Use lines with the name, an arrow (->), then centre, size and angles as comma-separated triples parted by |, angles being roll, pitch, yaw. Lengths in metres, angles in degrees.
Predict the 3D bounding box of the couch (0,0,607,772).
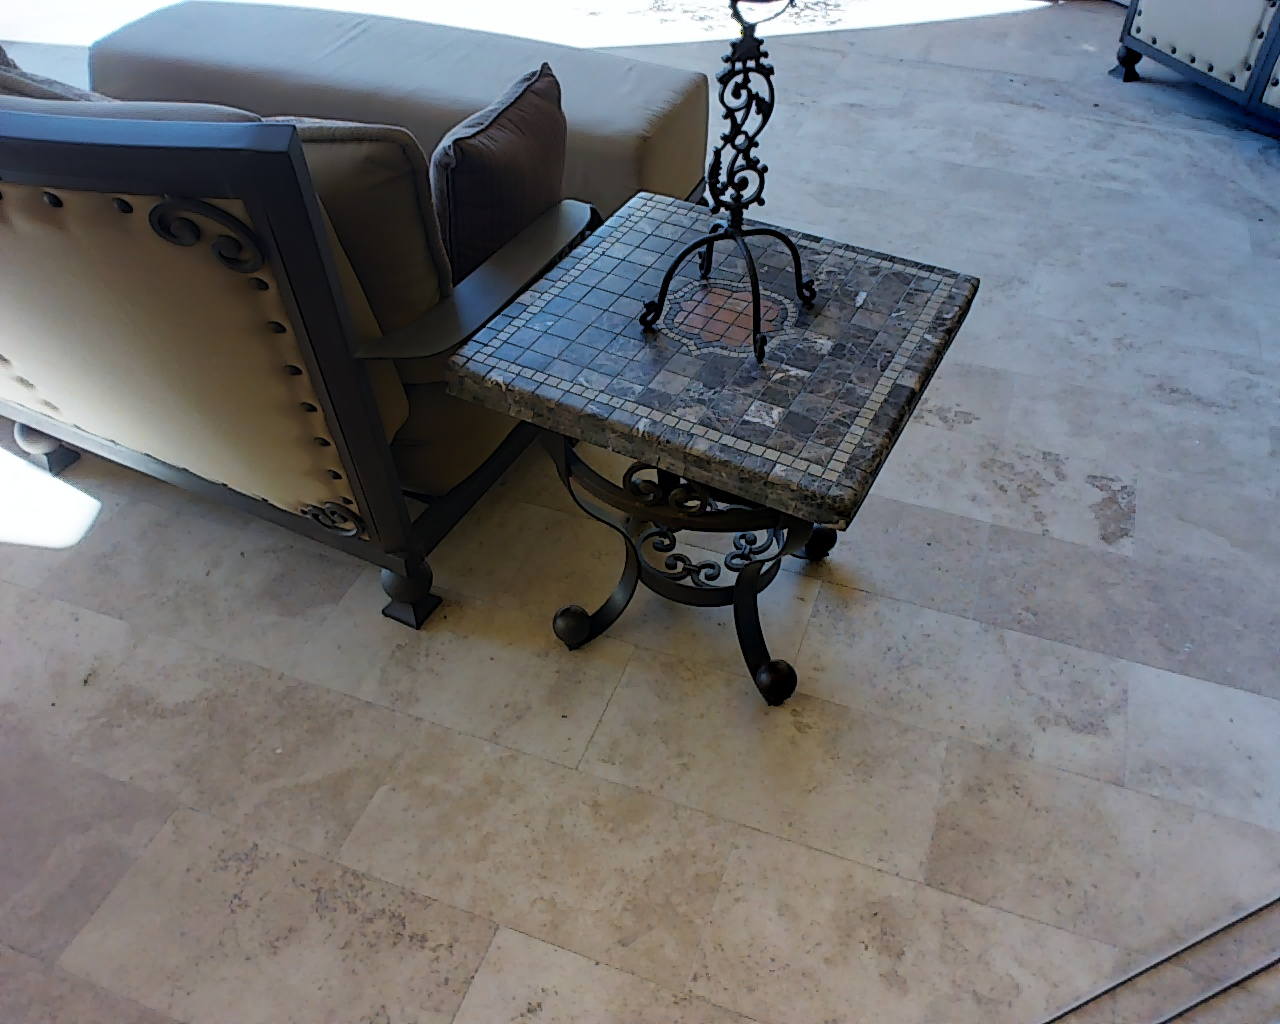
couch -> -1.170, -0.500, 2.080 | 1.990, 1.140, 0.960 | 14, 44, 14

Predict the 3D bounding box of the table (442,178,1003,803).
table -> 0.160, -0.070, 1.960 | 0.680, 0.700, 0.700 | 19, 45, 19

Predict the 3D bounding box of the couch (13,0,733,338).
couch -> -0.720, -1.050, 3.110 | 1.850, 0.550, 0.610 | 11, 43, 11
